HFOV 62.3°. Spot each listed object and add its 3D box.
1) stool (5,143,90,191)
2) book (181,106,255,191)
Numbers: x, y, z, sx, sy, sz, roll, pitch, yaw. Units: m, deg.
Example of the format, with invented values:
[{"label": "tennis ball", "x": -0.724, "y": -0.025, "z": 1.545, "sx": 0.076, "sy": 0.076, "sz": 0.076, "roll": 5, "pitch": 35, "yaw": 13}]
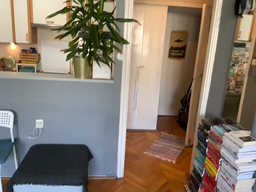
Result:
[{"label": "stool", "x": -0.680, "y": 0.750, "z": 1.950, "sx": 0.580, "sy": 0.390, "sz": 0.560, "roll": 3, "pitch": 14, "yaw": -5}, {"label": "book", "x": 0.780, "y": 0.650, "z": 1.970, "sx": 0.180, "sy": 0.840, "sz": 0.990, "roll": 4, "pitch": 14, "yaw": -3}]
